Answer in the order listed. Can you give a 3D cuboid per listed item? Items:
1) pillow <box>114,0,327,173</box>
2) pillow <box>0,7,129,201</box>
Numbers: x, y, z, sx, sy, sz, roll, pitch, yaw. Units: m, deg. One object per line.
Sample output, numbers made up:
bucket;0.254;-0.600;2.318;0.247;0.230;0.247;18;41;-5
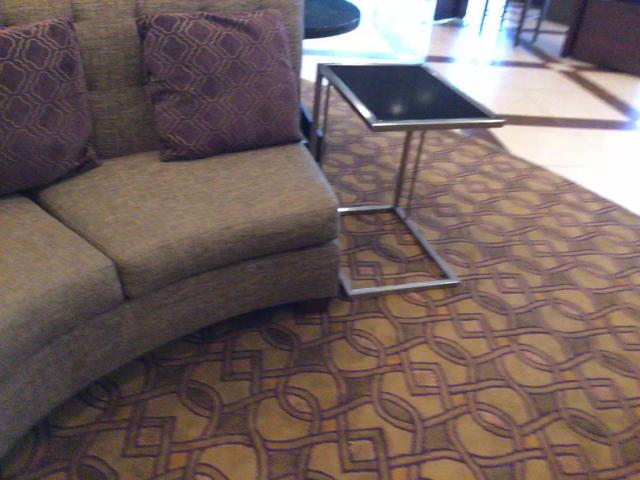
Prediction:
pillow;-0.320;-0.550;1.960;0.570;0.470;0.280;-19;26;-23
pillow;-0.860;-0.370;1.560;0.220;0.430;0.580;14;31;31
